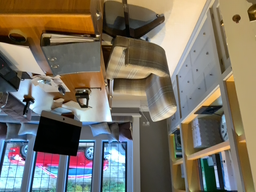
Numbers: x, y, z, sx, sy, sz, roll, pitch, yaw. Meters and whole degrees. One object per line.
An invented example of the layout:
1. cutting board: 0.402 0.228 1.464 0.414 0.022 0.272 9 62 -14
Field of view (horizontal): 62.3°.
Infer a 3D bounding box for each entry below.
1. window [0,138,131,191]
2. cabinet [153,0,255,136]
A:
1. window: -1.320 1.570 3.970 2.730 1.530 0.190 0 159 -1
2. cabinet: 0.800 -0.240 2.300 0.650 0.790 2.920 0 159 -1
